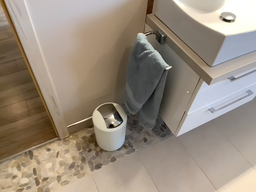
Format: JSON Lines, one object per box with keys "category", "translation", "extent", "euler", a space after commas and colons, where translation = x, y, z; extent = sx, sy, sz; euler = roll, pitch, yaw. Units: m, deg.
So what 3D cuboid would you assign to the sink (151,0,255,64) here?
{"category": "sink", "translation": [0.460, -0.390, 0.920], "extent": [0.580, 0.130, 0.400], "euler": [-20, 55, -20]}
